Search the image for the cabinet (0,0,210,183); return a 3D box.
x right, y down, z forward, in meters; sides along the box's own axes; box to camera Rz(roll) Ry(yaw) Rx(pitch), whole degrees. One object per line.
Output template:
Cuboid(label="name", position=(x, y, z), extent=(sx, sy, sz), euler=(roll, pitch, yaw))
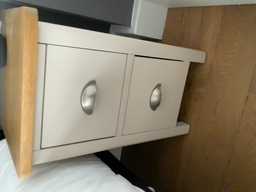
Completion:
Cuboid(label="cabinet", position=(-0.100, -0.060, 0.740), extent=(0.430, 0.550, 0.380), euler=(24, 110, 50))
